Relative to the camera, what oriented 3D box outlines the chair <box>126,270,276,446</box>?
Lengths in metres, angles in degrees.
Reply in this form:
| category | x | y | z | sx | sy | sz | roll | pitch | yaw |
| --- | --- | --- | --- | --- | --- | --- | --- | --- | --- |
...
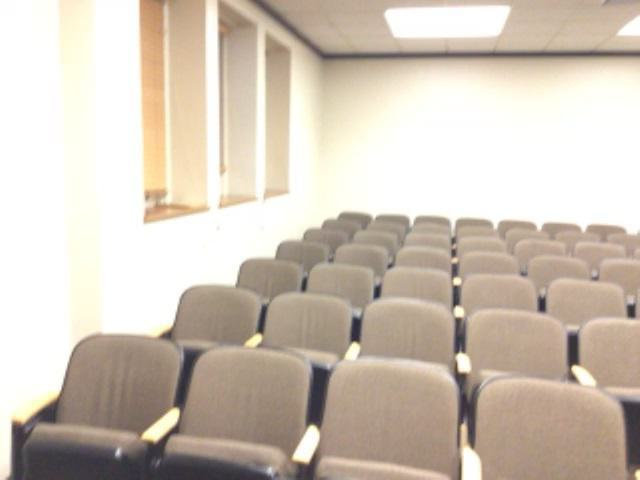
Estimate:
| category | x | y | z | sx | sy | sz | roll | pitch | yaw |
| --- | --- | --- | --- | --- | --- | --- | --- | --- | --- |
| chair | -0.620 | 0.610 | 3.170 | 0.620 | 0.790 | 0.510 | 1 | 8 | 12 |

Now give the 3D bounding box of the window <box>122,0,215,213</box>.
| category | x | y | z | sx | sy | sz | roll | pitch | yaw |
| --- | --- | --- | --- | --- | --- | --- | --- | --- | --- |
| window | -0.950 | -1.040 | 3.780 | 0.150 | 1.640 | 1.000 | 3 | 8 | 11 |

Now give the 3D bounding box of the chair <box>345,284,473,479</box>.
| category | x | y | z | sx | sy | sz | roll | pitch | yaw |
| --- | --- | --- | --- | --- | --- | --- | --- | --- | --- |
| chair | 0.450 | 0.700 | 2.900 | 0.540 | 0.820 | 0.600 | 3 | 8 | 11 |

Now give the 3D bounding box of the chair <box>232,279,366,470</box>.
| category | x | y | z | sx | sy | sz | roll | pitch | yaw |
| --- | --- | --- | --- | --- | --- | --- | --- | --- | --- |
| chair | -0.090 | 0.660 | 3.030 | 0.570 | 0.780 | 0.570 | 3 | 8 | 11 |

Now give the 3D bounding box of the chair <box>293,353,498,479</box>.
| category | x | y | z | sx | sy | sz | roll | pitch | yaw |
| --- | --- | --- | --- | --- | --- | --- | --- | --- | --- |
| chair | 0.260 | 0.870 | 2.000 | 0.590 | 0.760 | 0.550 | 3 | 8 | 11 |

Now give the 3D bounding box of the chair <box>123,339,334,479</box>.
| category | x | y | z | sx | sy | sz | roll | pitch | yaw |
| --- | --- | --- | --- | --- | --- | --- | --- | --- | --- |
| chair | -0.290 | 0.840 | 2.110 | 0.580 | 0.770 | 0.570 | 3 | 8 | 11 |

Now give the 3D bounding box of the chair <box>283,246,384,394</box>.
| category | x | y | z | sx | sy | sz | roll | pitch | yaw |
| --- | --- | --- | --- | --- | --- | --- | --- | --- | --- |
| chair | 0.100 | 0.500 | 3.820 | 0.580 | 0.840 | 0.470 | 3 | 8 | 11 |

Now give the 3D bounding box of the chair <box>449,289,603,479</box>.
| category | x | y | z | sx | sy | sz | roll | pitch | yaw |
| --- | --- | --- | --- | --- | --- | --- | --- | --- | --- |
| chair | 0.930 | 0.720 | 2.760 | 0.570 | 0.830 | 0.580 | 3 | 8 | 11 |

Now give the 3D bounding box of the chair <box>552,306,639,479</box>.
| category | x | y | z | sx | sy | sz | roll | pitch | yaw |
| --- | --- | --- | --- | --- | --- | --- | --- | --- | --- |
| chair | 1.410 | 0.780 | 2.610 | 0.540 | 0.830 | 0.490 | 3 | 8 | 11 |

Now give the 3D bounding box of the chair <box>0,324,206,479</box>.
| category | x | y | z | sx | sy | sz | roll | pitch | yaw |
| --- | --- | --- | --- | --- | --- | --- | --- | --- | --- |
| chair | -0.870 | 0.800 | 2.220 | 0.670 | 0.770 | 0.580 | 3 | 8 | 11 |
